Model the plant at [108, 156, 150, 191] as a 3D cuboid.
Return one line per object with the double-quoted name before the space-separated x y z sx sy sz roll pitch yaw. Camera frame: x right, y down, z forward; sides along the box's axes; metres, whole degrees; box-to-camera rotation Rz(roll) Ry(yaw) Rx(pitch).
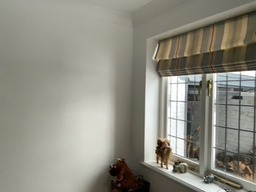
"plant" 0.000 0.810 1.920 0.240 0.410 0.330 0 2 -32
